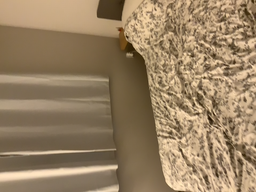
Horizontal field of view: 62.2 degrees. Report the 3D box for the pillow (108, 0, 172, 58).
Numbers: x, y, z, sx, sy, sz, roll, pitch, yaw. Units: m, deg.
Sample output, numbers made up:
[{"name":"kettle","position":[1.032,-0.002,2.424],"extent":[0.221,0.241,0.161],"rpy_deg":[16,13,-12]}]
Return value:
[{"name":"pillow","position":[0.150,-0.750,2.290],"extent":[0.630,0.480,0.280],"rpy_deg":[43,-143,-61]}]
